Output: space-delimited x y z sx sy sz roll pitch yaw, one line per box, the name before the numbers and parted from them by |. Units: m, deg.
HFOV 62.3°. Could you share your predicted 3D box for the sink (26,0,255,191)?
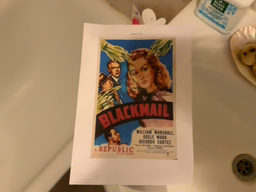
sink | 0.240 0.170 0.410 0.680 0.150 0.470 40 79 11
